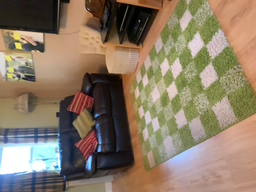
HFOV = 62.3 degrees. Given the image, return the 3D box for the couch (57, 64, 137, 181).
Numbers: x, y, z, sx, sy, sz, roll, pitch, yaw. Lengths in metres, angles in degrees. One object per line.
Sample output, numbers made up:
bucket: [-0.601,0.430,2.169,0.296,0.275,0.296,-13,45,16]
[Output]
couch: [-0.600,0.450,3.400,1.050,0.970,1.500,125,141,-57]

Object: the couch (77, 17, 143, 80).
couch: [-0.290,-0.640,2.950,0.510,0.730,0.630,114,150,-47]
